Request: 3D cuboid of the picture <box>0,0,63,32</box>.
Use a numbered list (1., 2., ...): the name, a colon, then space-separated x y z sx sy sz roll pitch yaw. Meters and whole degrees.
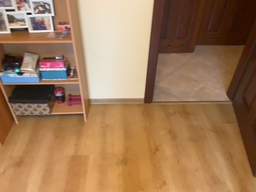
1. picture: -0.700 -0.570 1.430 0.450 0.240 0.100 -1 39 -1
